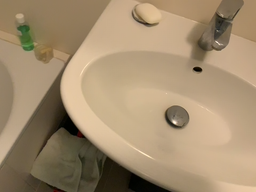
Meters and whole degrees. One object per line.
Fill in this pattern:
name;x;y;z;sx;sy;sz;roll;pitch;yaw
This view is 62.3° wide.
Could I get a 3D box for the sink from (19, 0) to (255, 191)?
sink;0.150;0.030;0.590;0.610;0.220;0.490;20;56;1
